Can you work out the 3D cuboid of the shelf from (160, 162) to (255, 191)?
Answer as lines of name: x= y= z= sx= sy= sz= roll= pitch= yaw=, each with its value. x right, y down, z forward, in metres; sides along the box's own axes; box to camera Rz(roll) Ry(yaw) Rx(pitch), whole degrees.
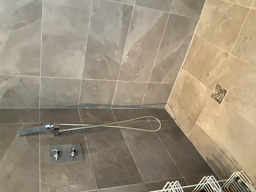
shelf: x=0.500 y=0.610 z=1.170 sx=0.390 sy=0.490 sz=0.200 roll=-122 pitch=40 yaw=-51
